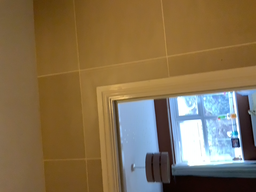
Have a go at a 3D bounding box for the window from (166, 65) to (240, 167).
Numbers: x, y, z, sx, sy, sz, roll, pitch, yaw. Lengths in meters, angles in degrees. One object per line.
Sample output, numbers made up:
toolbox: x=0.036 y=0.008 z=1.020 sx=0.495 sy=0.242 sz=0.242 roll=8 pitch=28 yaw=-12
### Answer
window: x=1.360 y=0.390 z=3.960 sx=0.210 sy=1.080 sz=1.760 roll=10 pitch=-106 yaw=-73
